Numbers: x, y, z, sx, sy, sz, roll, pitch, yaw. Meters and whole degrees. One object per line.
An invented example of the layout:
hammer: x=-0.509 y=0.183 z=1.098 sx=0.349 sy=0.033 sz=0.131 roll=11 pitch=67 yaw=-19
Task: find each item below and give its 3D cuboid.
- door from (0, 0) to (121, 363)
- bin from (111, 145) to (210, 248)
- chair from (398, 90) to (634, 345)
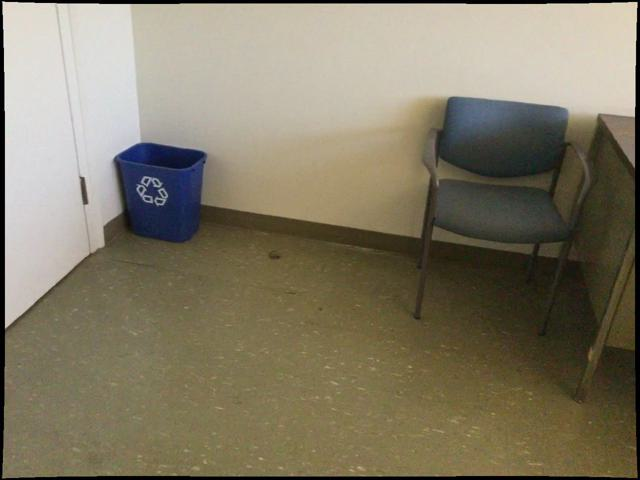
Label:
door: x=-1.067 y=-0.521 z=1.820 sx=0.110 sy=1.814 sz=1.050 roll=7 pitch=30 yaw=10
bin: x=-0.738 y=-0.211 z=2.720 sx=0.339 sy=0.381 sz=0.250 roll=8 pitch=30 yaw=10
chair: x=0.698 y=-0.110 z=2.260 sx=0.658 sy=0.772 sz=0.530 roll=8 pitch=30 yaw=10
